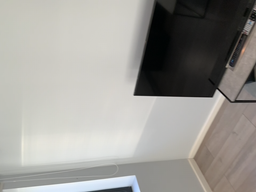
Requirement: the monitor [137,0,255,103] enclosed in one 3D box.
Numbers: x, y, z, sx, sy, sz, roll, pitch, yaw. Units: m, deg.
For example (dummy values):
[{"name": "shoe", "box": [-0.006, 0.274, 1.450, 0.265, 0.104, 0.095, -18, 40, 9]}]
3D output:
[{"name": "monitor", "box": [0.470, -0.410, 1.330, 0.050, 0.630, 1.090, -112, 28, -51]}]
